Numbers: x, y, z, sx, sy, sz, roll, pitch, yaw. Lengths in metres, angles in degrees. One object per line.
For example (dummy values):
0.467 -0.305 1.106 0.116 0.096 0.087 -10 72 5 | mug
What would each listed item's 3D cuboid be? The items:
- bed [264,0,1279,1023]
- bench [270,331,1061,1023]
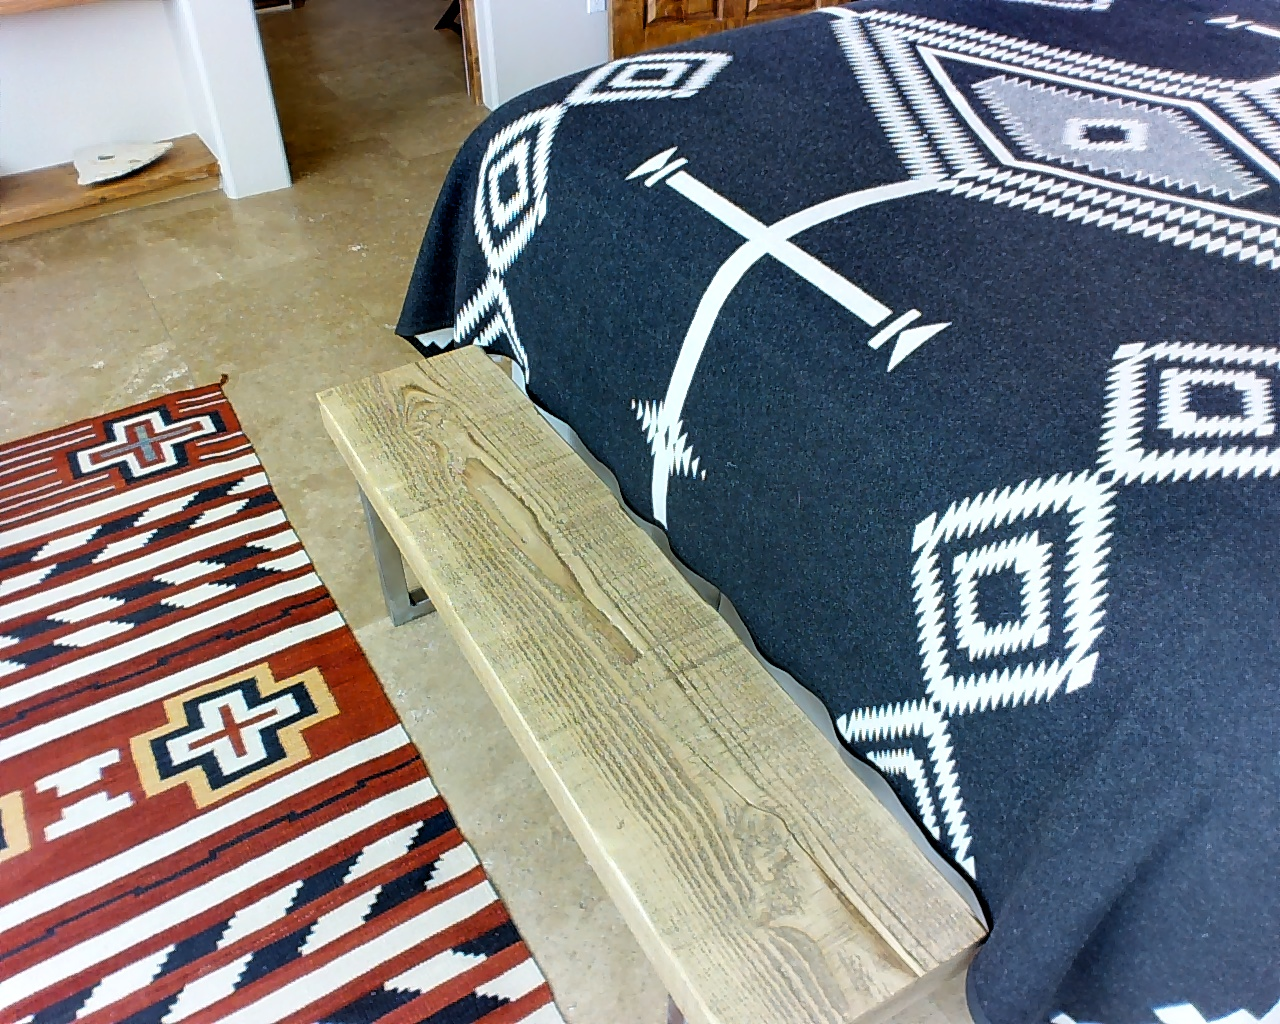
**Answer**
0.890 -0.460 1.770 2.290 1.250 2.040 -22 46 -24 | bed
-0.090 0.280 1.520 0.360 0.460 1.280 -23 46 -24 | bench
